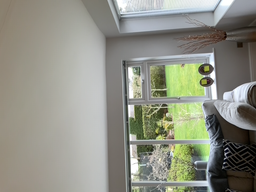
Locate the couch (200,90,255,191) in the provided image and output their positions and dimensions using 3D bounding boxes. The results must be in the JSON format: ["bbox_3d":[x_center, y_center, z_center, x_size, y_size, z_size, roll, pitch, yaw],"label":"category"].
[{"bbox_3d":[1.500,1.030,2.530,1.030,0.910,2.150,24,-116,-84],"label":"couch"}]

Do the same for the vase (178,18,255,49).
[{"bbox_3d":[1.380,-0.930,3.160,0.250,1.190,0.300,80,-170,-57],"label":"vase"}]

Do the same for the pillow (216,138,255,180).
[{"bbox_3d":[1.340,0.770,2.630,0.260,0.350,0.390,-41,-59,-85],"label":"pillow"}]
